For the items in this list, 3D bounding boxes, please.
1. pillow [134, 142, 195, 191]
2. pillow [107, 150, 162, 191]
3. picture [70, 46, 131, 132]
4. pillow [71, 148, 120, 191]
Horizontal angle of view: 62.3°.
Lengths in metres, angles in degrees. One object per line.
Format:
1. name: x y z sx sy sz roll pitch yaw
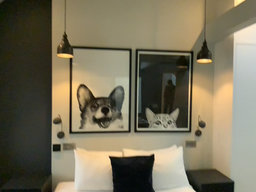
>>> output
1. pillow: 0.420 0.820 2.360 0.600 0.480 0.150 16 -11 -18
2. pillow: 0.060 0.830 2.160 0.460 0.450 0.190 12 -10 -5
3. picture: -0.330 -0.080 2.590 0.720 0.990 0.140 0 2 -11
4. pillow: -0.350 0.820 2.290 0.420 0.420 0.180 13 -9 -10
